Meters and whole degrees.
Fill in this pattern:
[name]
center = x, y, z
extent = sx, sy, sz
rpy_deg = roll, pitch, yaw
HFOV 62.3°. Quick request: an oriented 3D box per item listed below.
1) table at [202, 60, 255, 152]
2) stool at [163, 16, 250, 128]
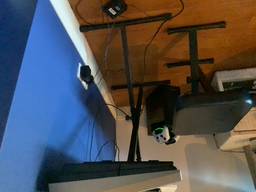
[table]
center = 0.870, 0.100, 1.630
extent = 0.430, 0.530, 0.520
rpy_deg = -5, 153, 9
[stool]
center = 0.390, -0.110, 1.220
extent = 0.330, 0.460, 0.420
rpy_deg = -4, 153, 7
